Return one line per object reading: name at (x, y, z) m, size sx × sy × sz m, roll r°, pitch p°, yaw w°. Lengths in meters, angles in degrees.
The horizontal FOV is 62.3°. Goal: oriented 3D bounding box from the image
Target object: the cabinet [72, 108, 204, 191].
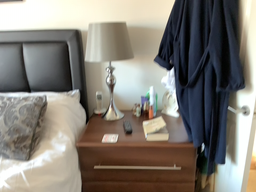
cabinet at (0.070, 0.480, 1.560) m, size 0.730 × 0.600 × 0.610 m, roll -1°, pitch 17°, yaw 3°
